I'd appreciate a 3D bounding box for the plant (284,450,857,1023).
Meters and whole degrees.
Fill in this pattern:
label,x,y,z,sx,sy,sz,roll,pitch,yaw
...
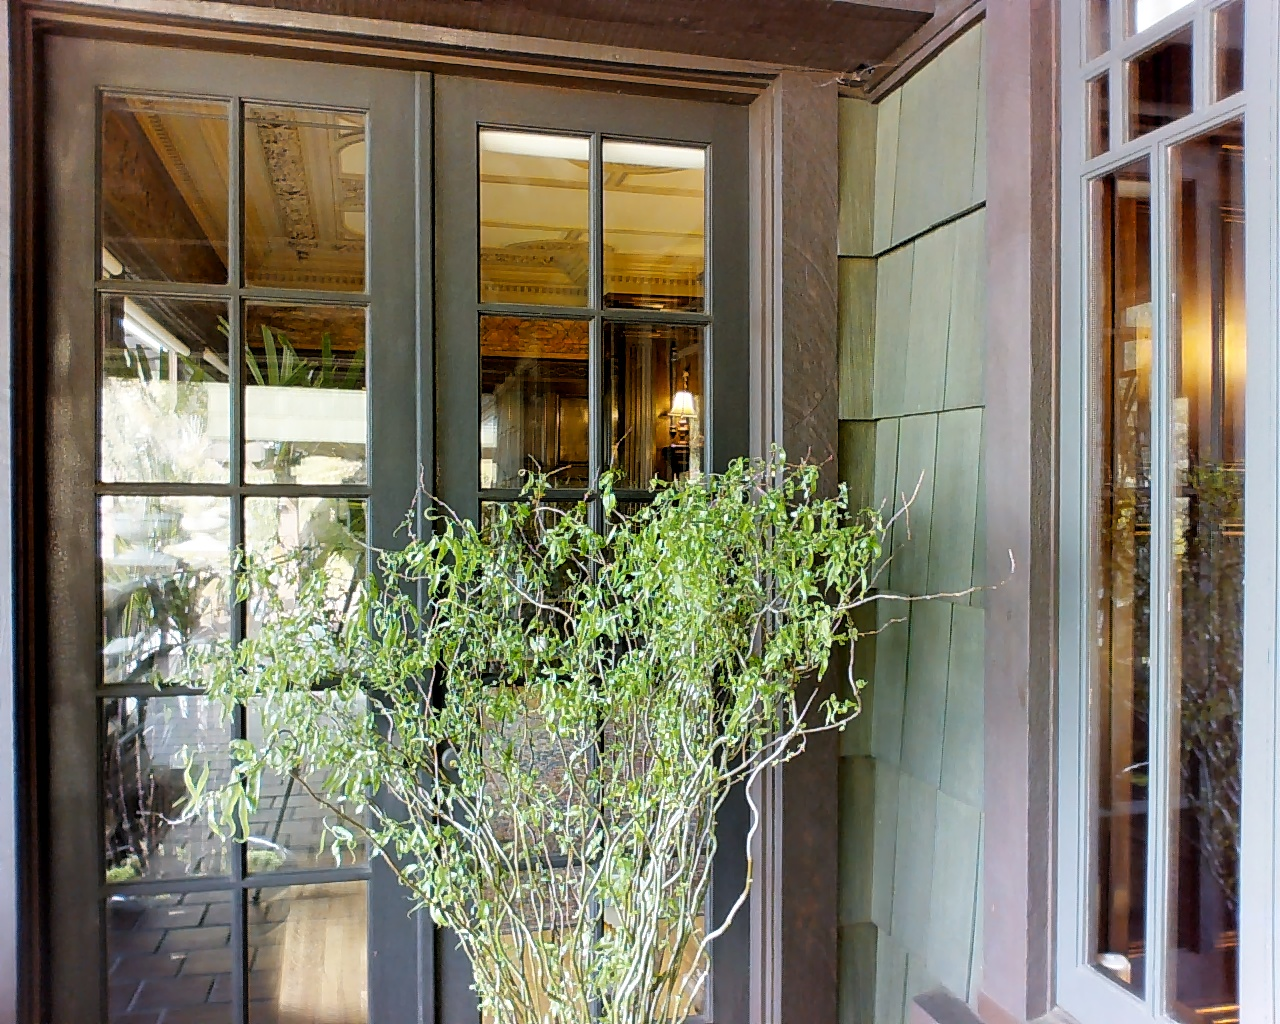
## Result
label,x,y,z,sx,sy,sz,roll,pitch,yaw
plant,-0.130,0.690,2.180,0.930,1.580,0.680,1,1,31
